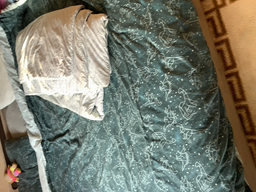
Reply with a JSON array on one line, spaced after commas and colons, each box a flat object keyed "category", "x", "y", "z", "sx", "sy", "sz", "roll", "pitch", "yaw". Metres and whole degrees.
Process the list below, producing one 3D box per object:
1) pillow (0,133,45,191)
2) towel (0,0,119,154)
[{"category": "pillow", "x": -1.000, "y": 0.740, "z": 2.020, "sx": 0.460, "sy": 0.130, "sz": 0.700, "roll": -20, "pitch": 85, "yaw": 43}, {"category": "towel", "x": -0.550, "y": -0.230, "z": 1.400, "sx": 1.160, "sy": 0.130, "sz": 0.770, "roll": 20, "pitch": 112, "yaw": 38}]
